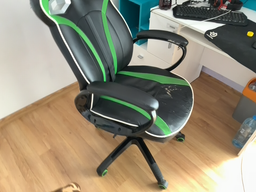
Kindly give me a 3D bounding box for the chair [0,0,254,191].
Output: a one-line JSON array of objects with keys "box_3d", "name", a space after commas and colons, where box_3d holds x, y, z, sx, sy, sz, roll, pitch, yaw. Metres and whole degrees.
[{"box_3d": [0.020, -0.140, 1.190, 0.830, 1.220, 0.730, 20, 47, 17], "name": "chair"}]
